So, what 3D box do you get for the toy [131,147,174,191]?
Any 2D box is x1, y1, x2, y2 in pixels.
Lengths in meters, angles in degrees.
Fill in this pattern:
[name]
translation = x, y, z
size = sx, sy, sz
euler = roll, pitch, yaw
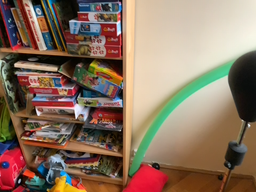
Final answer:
[toy]
translation = 0.180, 0.590, 1.620
size = 0.290, 0.190, 0.320
euler = 4, 31, 4
